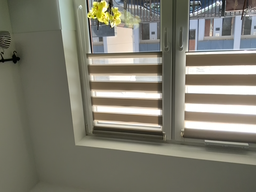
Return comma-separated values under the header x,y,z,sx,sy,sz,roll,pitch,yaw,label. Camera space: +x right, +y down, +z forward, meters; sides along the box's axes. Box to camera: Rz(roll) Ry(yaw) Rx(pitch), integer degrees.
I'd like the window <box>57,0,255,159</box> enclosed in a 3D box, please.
x,y,z,sx,sy,sz,roll,pitch,yaw,label
0.290,-0.320,1.410,1.560,1.440,0.140,2,-164,16,window
